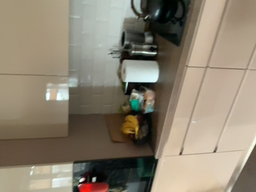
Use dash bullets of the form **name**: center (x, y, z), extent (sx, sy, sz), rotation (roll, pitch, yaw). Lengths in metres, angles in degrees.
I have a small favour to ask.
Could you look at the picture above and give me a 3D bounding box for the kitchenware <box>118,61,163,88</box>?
- **kitchenware**: center (0.080, -0.150, 1.460), extent (0.150, 0.260, 0.120), rotation (-114, 29, -55)
